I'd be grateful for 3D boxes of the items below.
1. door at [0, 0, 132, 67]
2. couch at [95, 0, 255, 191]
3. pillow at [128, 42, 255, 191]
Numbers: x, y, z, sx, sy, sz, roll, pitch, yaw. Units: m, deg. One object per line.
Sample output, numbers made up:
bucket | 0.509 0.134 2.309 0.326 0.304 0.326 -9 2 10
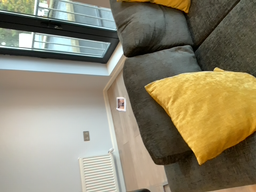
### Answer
door | -0.970 -0.760 2.570 1.020 1.800 0.090 -50 47 49
couch | 0.470 -0.390 1.250 1.090 0.830 1.700 -46 50 52
pillow | 0.380 0.050 1.030 0.590 0.490 0.290 44 153 43
